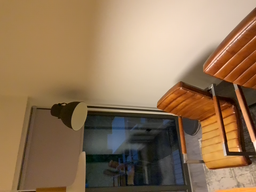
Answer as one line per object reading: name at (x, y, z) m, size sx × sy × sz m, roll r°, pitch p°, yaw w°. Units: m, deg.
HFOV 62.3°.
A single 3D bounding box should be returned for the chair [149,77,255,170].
chair at (0.710, 0.280, 1.770) m, size 0.570 × 0.880 × 0.590 m, roll 124°, pitch 148°, yaw -61°
